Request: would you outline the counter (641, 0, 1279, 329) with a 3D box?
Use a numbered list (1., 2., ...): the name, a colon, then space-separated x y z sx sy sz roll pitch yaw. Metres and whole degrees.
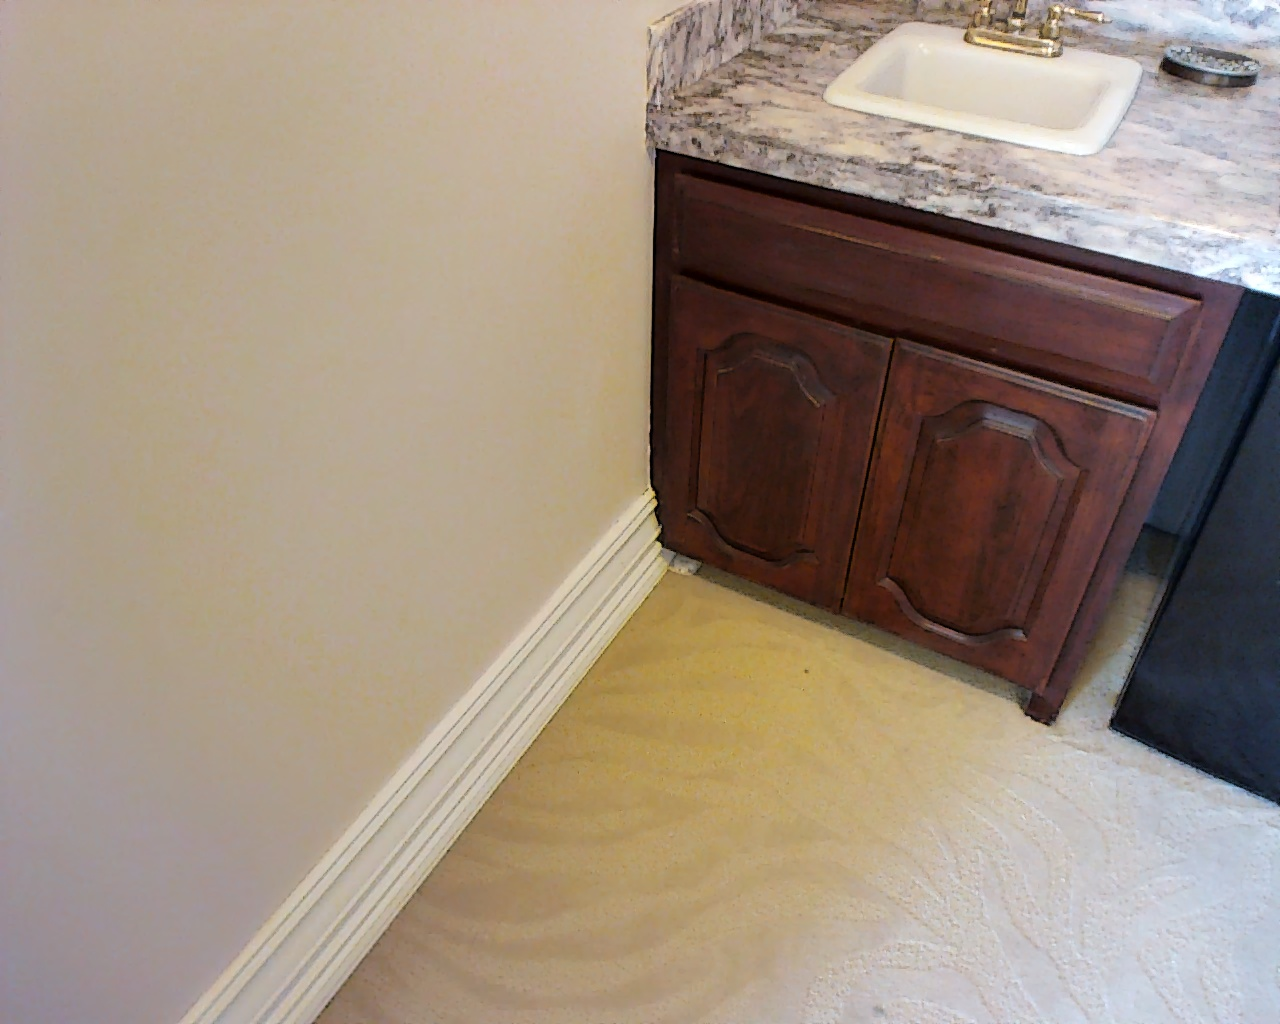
1. counter: 0.780 -0.450 1.410 1.440 0.080 0.620 22 46 21
